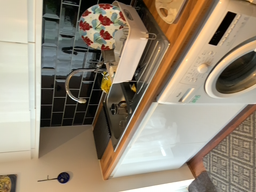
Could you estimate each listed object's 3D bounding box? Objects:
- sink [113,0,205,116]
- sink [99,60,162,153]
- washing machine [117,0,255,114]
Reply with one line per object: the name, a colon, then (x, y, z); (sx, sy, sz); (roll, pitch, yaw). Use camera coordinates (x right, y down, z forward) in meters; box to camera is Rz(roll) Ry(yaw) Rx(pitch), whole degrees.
sink: (0.130, -0.230, 1.290); (0.490, 0.210, 0.500); (115, 146, -43)
sink: (-0.020, 0.080, 1.620); (0.470, 0.210, 0.510); (115, 146, -43)
washing machine: (0.520, -0.350, 1.280); (0.600, 0.920, 0.670); (115, 146, -43)
